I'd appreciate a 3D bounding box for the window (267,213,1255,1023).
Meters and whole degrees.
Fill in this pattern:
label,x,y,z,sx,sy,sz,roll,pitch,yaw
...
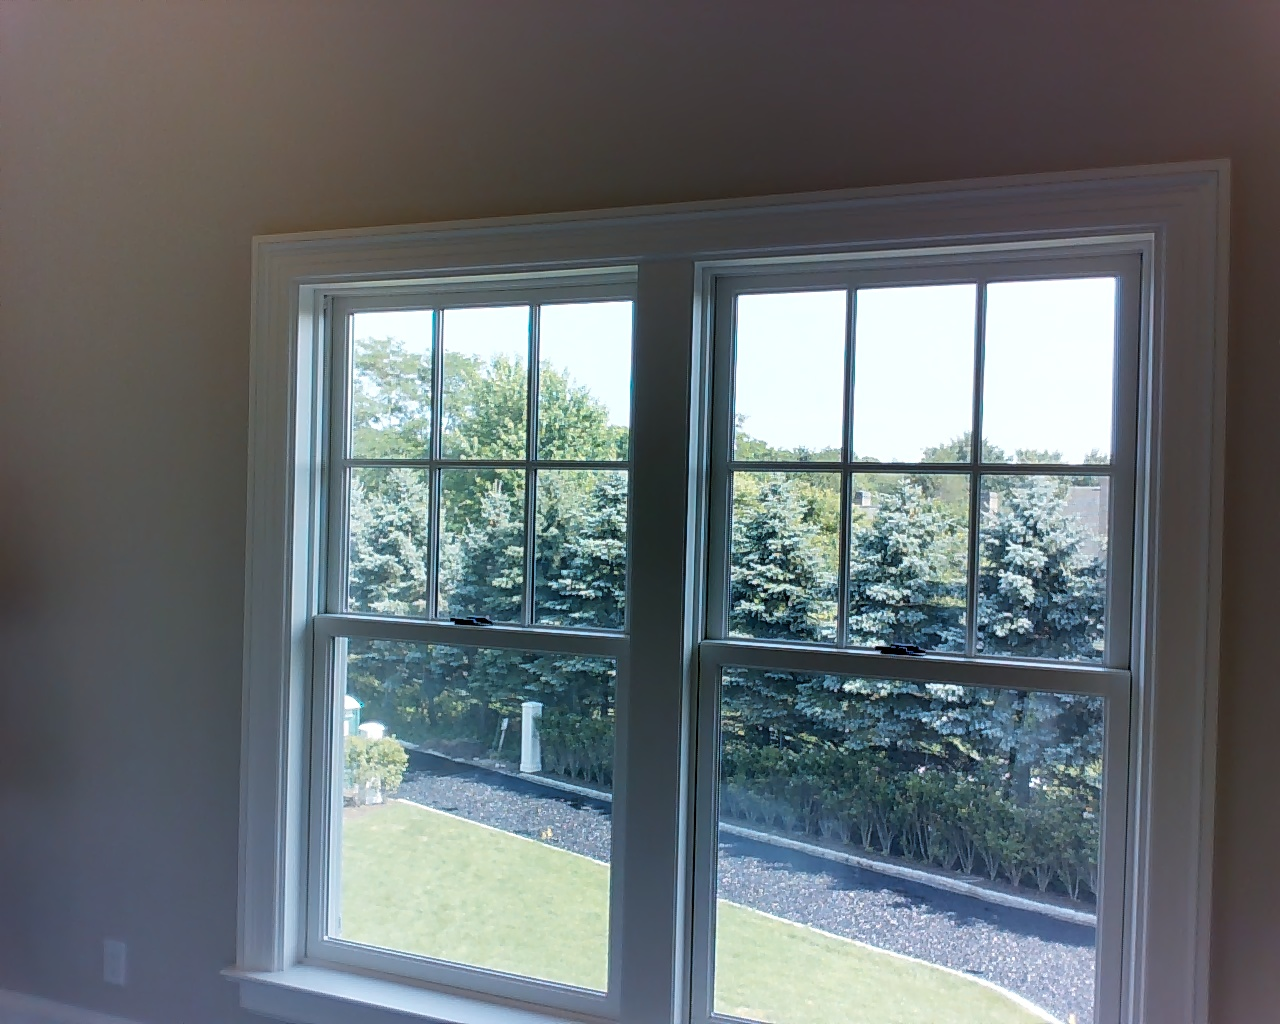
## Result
label,x,y,z,sx,sy,sz,roll,pitch,yaw
window,0.120,0.320,2.330,2.070,1.720,0.200,1,0,21
